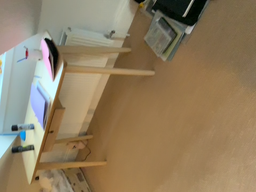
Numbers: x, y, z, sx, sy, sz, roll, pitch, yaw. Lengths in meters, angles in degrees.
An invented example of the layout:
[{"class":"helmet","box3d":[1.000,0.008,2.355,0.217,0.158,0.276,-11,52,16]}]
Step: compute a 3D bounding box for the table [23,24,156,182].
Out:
[{"class":"table","box3d":[-0.410,0.110,1.880,0.480,0.710,1.210,52,128,37]}]
